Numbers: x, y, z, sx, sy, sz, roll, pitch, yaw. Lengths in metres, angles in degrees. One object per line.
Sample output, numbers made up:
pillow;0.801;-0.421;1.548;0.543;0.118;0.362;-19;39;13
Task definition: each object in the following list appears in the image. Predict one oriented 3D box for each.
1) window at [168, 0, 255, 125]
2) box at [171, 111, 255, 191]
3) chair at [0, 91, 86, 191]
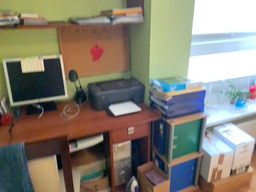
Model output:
window;1.050;-0.710;1.950;1.310;1.880;0.180;-8;24;-18
box;0.760;0.500;1.990;0.500;0.500;0.470;-7;23;-16
chair;-0.500;0.560;1.240;0.470;1.010;0.540;-7;23;-16
